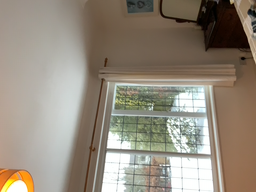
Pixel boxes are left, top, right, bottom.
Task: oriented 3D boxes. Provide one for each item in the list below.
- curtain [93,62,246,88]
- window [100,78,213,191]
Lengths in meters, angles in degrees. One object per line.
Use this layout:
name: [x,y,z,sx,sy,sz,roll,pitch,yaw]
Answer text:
curtain: [0.540,-0.310,3.030,0.240,2.040,0.260,80,-167,-60]
window: [0.370,0.640,2.830,0.100,1.350,1.970,78,-165,-64]
